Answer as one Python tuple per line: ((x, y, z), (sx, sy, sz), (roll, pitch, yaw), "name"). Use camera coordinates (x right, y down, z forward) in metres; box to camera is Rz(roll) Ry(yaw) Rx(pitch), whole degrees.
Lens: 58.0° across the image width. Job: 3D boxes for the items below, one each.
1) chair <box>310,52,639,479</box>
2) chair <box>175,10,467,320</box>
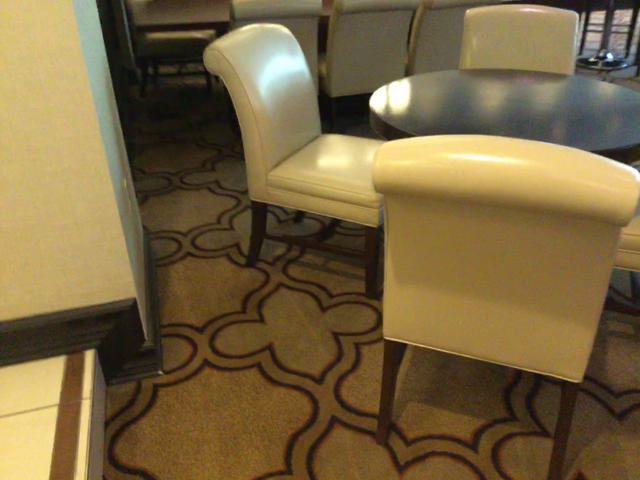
((0.420, 0.070, 1.530), (0.590, 0.930, 0.770), (7, 32, 19), "chair")
((0.050, -0.340, 2.260), (0.840, 0.950, 0.610), (11, 34, 25), "chair")
